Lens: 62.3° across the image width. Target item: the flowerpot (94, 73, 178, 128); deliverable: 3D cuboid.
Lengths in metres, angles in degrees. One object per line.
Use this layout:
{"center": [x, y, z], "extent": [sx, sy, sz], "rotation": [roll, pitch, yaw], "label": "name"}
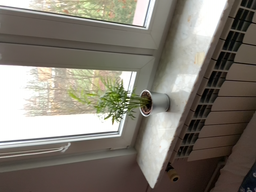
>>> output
{"center": [0.030, 0.020, 0.890], "extent": [0.090, 0.300, 0.200], "rotation": [-124, 42, -49], "label": "flowerpot"}
